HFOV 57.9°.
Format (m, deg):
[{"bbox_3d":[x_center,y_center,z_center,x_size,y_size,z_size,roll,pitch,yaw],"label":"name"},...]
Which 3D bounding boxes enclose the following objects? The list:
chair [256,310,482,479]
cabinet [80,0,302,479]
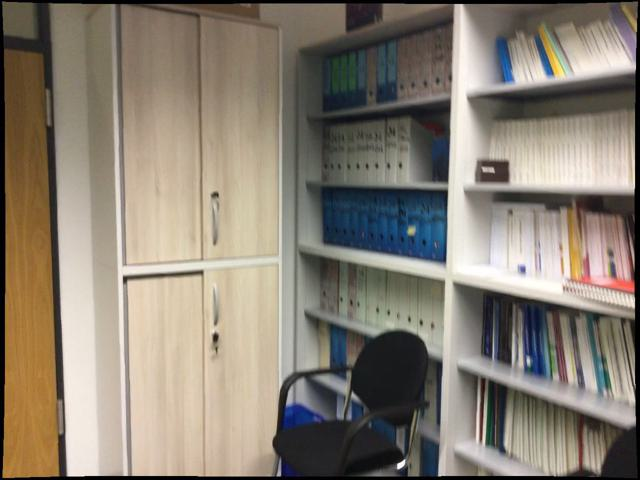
[{"bbox_3d":[0.200,0.641,2.460,0.779,0.511,0.540,-3,7,-33],"label":"chair"},{"bbox_3d":[-0.609,0.050,2.760,0.849,2.302,0.550,-3,7,-33],"label":"cabinet"}]
